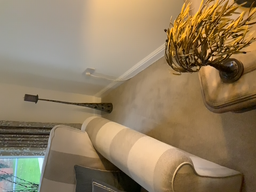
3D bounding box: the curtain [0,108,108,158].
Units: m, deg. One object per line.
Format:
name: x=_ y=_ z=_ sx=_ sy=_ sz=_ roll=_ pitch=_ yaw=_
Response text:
curtain: x=-1.220 y=0.360 z=2.070 sx=0.120 sy=2.250 sz=0.470 roll=-31 pitch=58 yaw=49
